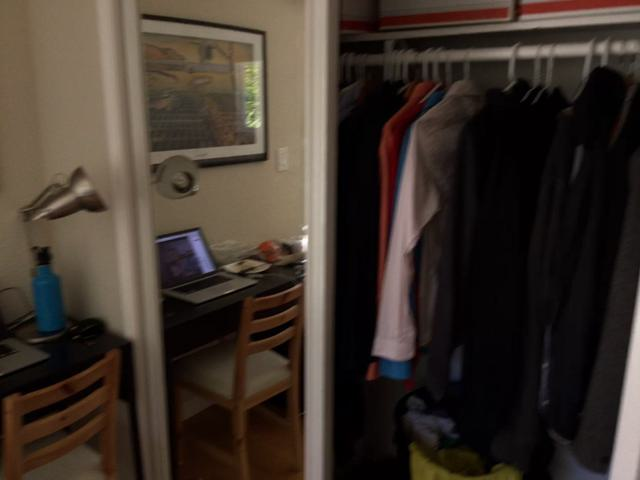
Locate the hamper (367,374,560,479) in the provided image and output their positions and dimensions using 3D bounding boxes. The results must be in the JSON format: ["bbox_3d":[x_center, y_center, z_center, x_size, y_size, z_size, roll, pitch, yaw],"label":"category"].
[{"bbox_3d":[0.460,0.820,1.850,0.510,0.580,0.390,5,12,25],"label":"hamper"}]

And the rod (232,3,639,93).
[{"bbox_3d":[0.300,-0.510,1.620,1.100,0.140,0.300,5,12,25],"label":"rod"}]
